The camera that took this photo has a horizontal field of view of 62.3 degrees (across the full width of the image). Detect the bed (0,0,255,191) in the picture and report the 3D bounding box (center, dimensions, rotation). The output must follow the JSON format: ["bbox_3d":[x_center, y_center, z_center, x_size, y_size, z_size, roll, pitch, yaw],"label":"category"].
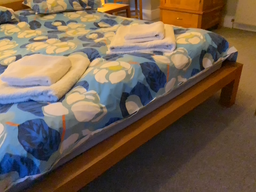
[{"bbox_3d":[-0.580,-0.260,1.760,1.780,0.510,2.250,-29,41,-32],"label":"bed"}]

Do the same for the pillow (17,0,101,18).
[{"bbox_3d":[-0.720,-1.030,2.260,0.760,0.160,0.400,-28,41,-31],"label":"pillow"}]
